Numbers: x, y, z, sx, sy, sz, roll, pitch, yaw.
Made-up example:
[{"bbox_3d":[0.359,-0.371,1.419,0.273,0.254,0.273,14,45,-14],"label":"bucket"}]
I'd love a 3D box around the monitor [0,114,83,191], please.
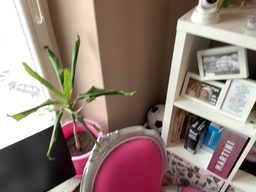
[{"bbox_3d":[-0.440,0.320,0.730,0.530,0.400,0.050,-23,46,-24],"label":"monitor"}]
